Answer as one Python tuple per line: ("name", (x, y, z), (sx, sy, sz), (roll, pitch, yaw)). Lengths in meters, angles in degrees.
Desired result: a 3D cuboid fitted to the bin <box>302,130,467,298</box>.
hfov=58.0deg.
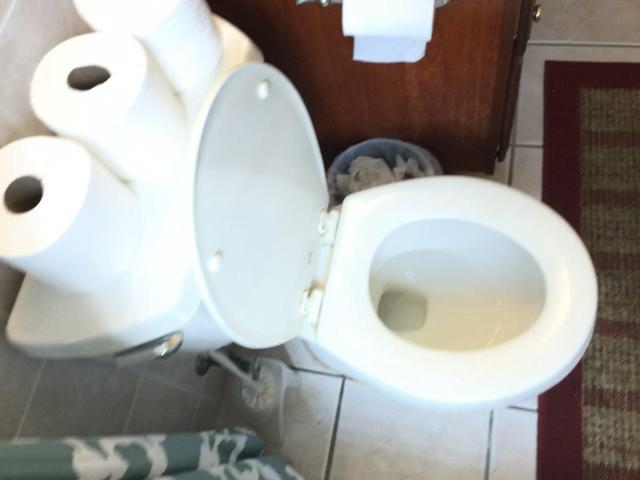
("bin", (0.150, -0.050, 1.210), (0.280, 0.250, 0.250), (5, 68, 15))
